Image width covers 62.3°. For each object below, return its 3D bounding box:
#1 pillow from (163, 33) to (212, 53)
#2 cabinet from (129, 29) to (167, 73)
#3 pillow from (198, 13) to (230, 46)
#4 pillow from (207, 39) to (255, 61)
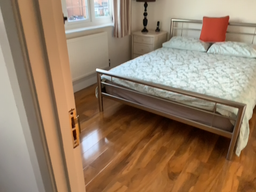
[{"bbox_3d":[1.010,-0.910,3.590,0.650,0.160,0.510,17,30,30],"label":"pillow"},{"bbox_3d":[0.380,-0.890,4.100,0.500,0.690,0.500,18,31,32],"label":"cabinet"},{"bbox_3d":[1.360,-1.070,3.380,0.370,0.420,0.240,17,41,29],"label":"pillow"},{"bbox_3d":[1.610,-0.710,3.210,0.650,0.130,0.540,17,30,30],"label":"pillow"}]
